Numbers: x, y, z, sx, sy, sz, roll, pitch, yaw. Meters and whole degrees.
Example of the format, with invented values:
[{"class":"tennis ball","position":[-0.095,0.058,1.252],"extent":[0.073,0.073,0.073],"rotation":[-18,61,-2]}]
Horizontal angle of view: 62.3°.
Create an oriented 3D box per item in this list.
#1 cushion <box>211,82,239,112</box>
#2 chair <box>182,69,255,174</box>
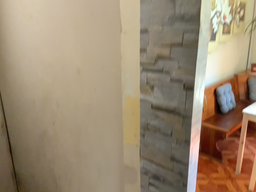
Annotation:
[{"class":"cushion","position":[1.430,0.030,3.100],"extent":[0.180,0.330,0.580],"rotation":[18,4,37]},{"class":"chair","position":[1.750,0.190,3.220],"extent":[2.130,0.850,0.690],"rotation":[-16,23,-40]}]
